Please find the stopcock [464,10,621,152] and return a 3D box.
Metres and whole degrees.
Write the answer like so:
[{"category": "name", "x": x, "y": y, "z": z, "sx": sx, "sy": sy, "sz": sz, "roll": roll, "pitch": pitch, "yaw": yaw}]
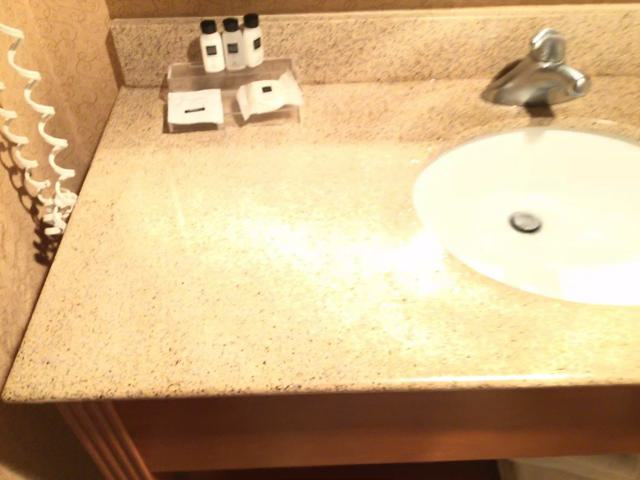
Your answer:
[{"category": "stopcock", "x": 0.310, "y": -0.230, "z": 0.840, "sx": 0.150, "sy": 0.150, "sz": 0.130, "roll": -2, "pitch": 46, "yaw": -1}]
